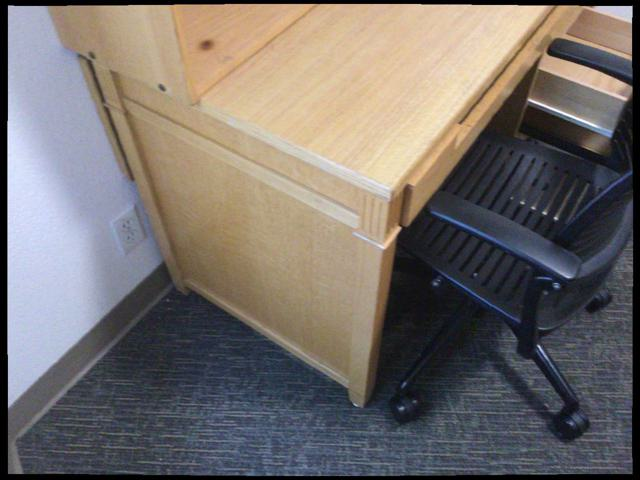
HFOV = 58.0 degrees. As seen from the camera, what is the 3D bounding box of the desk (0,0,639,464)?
[{"bbox_3d":[0.230,-0.281,1.430,1.337,0.771,1.372,-2,51,3],"label":"desk"}]
